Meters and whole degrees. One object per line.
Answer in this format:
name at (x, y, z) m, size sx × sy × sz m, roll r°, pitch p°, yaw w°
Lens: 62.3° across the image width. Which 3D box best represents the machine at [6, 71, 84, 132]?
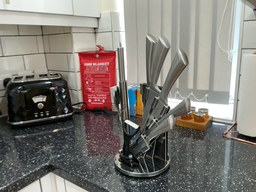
machine at (-0.390, 0.010, 1.010) m, size 0.290 × 0.200 × 0.210 m, roll -10°, pitch 17°, yaw -25°
